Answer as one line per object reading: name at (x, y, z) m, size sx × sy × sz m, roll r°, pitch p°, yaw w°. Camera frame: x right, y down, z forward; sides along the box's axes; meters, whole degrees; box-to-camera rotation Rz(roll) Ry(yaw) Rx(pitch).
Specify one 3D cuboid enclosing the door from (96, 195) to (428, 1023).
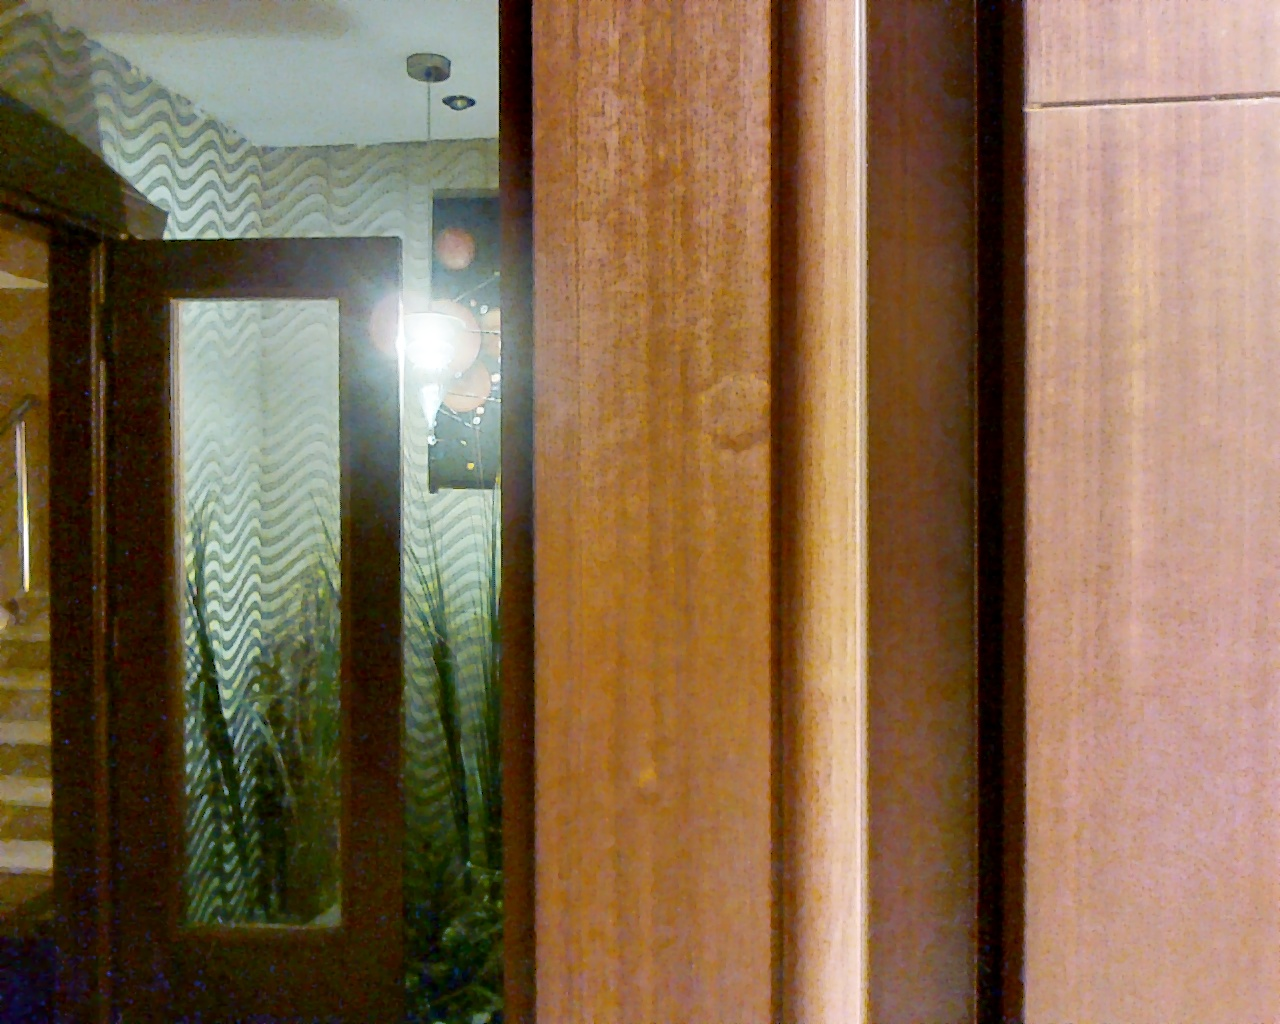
door at (-0.850, 0.440, 2.430) m, size 0.720 × 2.260 × 0.080 m, roll 0°, pitch 0°, yaw 5°
